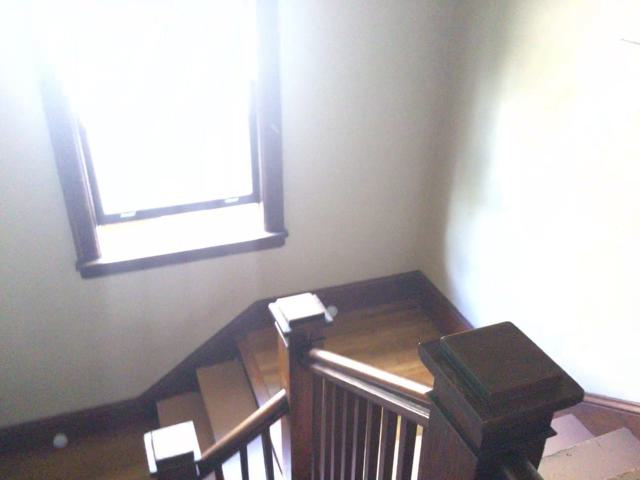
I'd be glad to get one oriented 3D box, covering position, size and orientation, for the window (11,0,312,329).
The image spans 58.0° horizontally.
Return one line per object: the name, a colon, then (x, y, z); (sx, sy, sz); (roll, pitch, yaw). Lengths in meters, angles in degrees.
window: (-0.690, -0.530, 2.810); (1.100, 1.730, 0.400); (-12, 25, -15)
